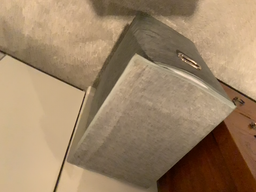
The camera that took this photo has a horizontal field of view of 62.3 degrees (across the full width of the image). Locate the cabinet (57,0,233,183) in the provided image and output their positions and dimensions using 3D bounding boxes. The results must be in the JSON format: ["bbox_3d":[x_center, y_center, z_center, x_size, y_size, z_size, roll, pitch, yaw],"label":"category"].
[{"bbox_3d":[0.030,-0.050,1.030,0.380,0.600,0.580,29,121,-19],"label":"cabinet"}]
